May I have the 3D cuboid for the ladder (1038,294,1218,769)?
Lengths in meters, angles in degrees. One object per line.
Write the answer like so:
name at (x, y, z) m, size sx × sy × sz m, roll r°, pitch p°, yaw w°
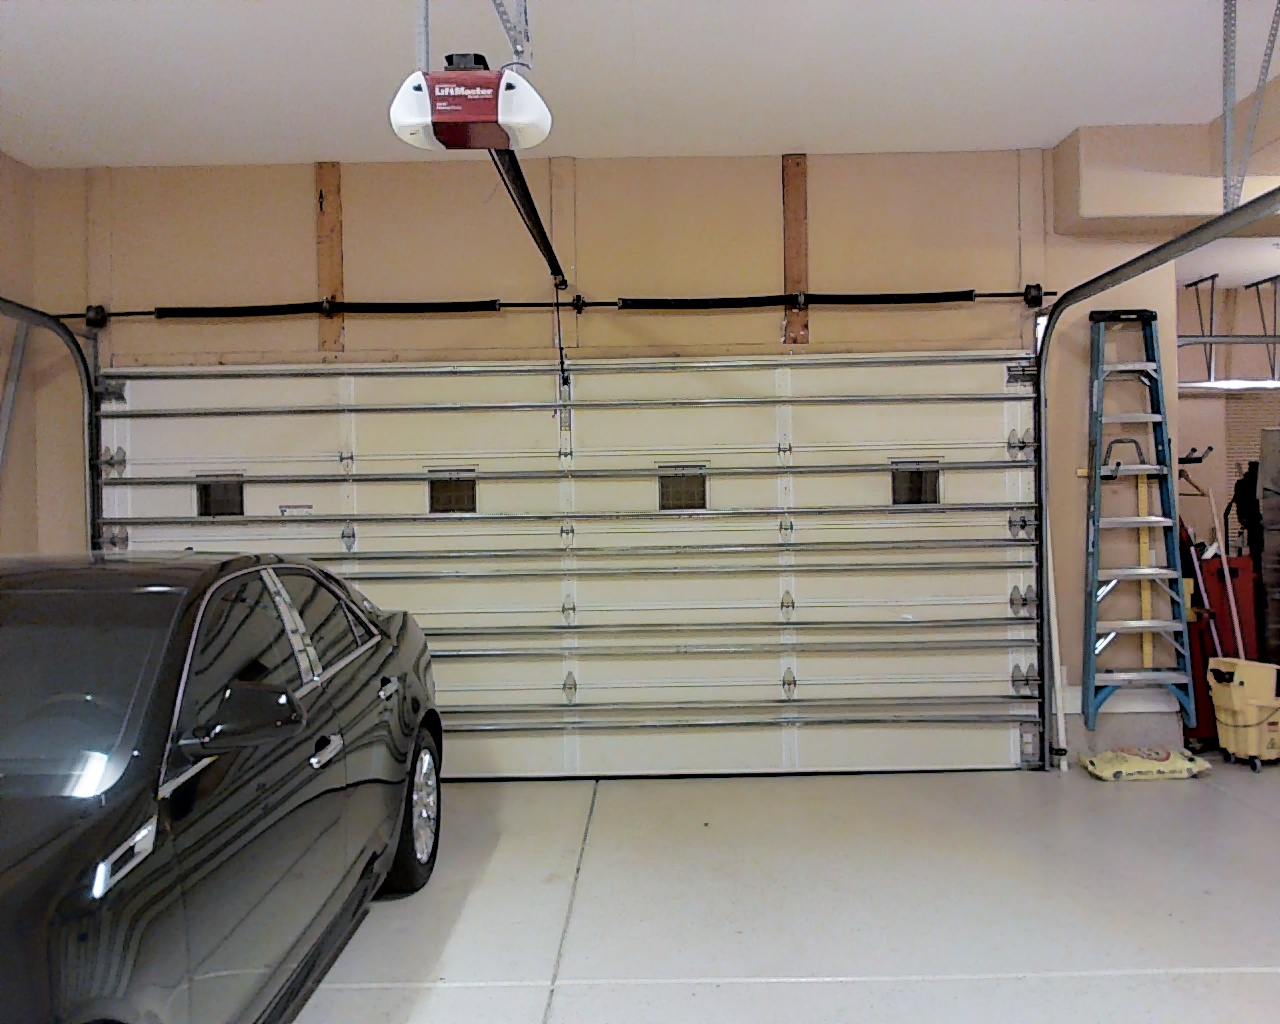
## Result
ladder at (2.850, 0.110, 6.250) m, size 0.920 × 2.720 × 0.250 m, roll -1°, pitch 0°, yaw -1°
